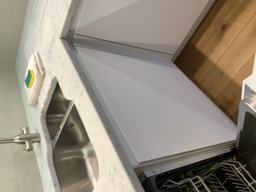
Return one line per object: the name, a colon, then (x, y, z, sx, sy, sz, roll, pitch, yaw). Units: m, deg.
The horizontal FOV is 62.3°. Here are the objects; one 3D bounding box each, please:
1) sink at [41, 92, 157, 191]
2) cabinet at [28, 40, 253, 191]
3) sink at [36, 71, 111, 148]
sink: (-0.160, 0.260, 0.900, 0.370, 0.230, 0.410, 56, 129, 34)
cabinet: (0.050, 0.190, 1.170, 0.610, 0.900, 0.590, 56, 129, 34)
sink: (-0.280, 0.070, 1.050, 0.180, 0.230, 0.320, 56, 129, 34)
